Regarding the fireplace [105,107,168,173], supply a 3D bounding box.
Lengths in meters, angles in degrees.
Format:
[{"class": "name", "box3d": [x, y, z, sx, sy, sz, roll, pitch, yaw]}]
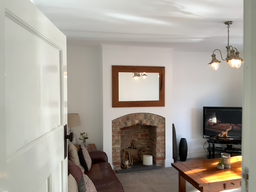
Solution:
[{"class": "fireplace", "box3d": [0.160, 0.880, 4.560, 1.190, 1.180, 0.710, -1, 2, -15]}]

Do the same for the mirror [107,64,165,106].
[{"class": "mirror", "box3d": [0.190, -0.230, 4.370, 1.240, 0.820, 0.060, -1, 2, -18]}]
